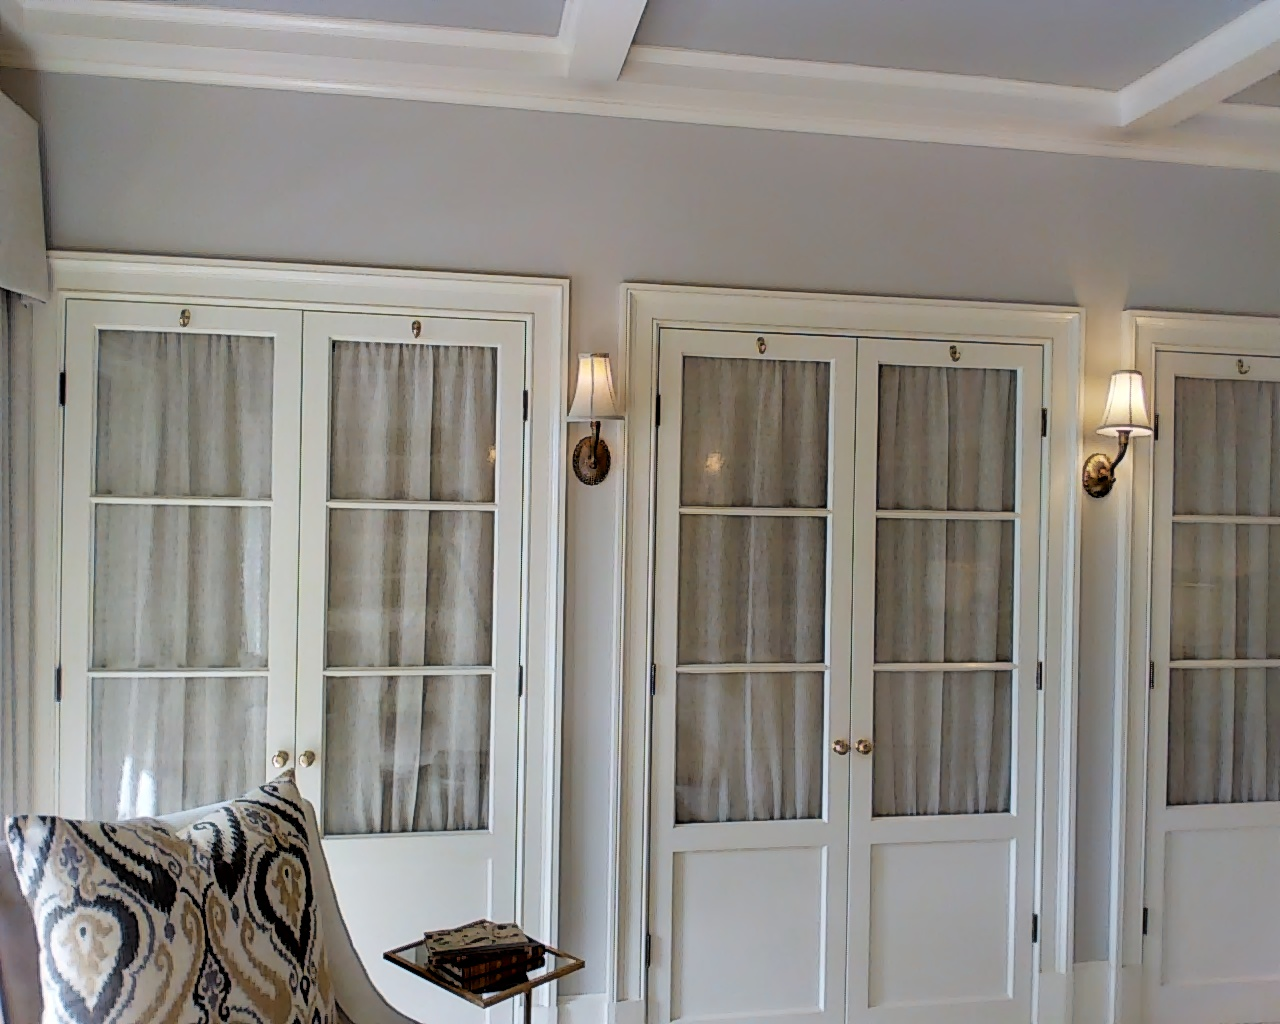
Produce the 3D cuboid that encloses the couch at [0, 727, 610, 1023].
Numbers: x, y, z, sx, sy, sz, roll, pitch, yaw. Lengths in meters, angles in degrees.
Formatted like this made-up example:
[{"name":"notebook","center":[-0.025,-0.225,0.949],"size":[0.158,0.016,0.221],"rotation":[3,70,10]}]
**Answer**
[{"name":"couch","center":[-0.710,1.010,1.840],"size":[0.970,1.020,0.860],"rotation":[1,0,41]}]
